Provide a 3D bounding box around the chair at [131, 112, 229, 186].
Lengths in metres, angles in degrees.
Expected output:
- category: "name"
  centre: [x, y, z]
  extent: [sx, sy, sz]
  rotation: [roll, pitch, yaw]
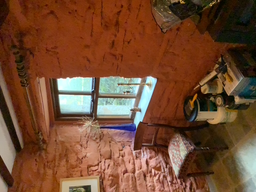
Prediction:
- category: "chair"
  centre: [0.540, 0.590, 2.480]
  extent: [0.580, 0.840, 0.550]
  rotation: [-108, 23, -54]
